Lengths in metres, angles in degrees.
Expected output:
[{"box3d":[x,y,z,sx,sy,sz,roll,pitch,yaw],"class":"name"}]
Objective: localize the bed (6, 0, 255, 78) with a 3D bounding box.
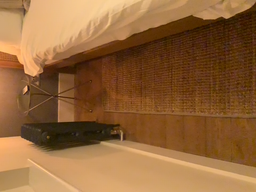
[{"box3d":[-0.170,-0.980,1.410,2.060,0.670,1.500,-2,87,48],"class":"bed"}]
